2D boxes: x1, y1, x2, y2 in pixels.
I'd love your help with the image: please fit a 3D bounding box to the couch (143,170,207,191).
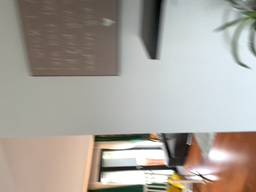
[{"bbox_3d":[0.960,2.030,4.600,0.950,1.130,0.730,101,167,-72],"label":"couch"}]
